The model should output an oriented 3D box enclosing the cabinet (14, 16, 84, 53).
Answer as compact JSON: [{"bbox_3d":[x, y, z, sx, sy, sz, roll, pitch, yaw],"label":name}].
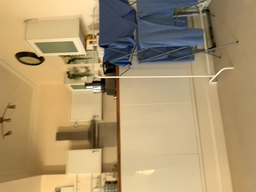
[{"bbox_3d":[-1.130,-0.900,3.150,0.480,0.840,0.310,90,178,-75],"label":"cabinet"}]

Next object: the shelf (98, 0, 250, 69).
[{"bbox_3d":[0.430,-0.860,2.460,0.670,1.450,0.850,90,178,-75],"label":"shelf"}]

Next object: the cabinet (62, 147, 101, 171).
[{"bbox_3d":[-1.050,1.450,4.900,0.340,0.810,0.500,90,178,-76],"label":"cabinet"}]
